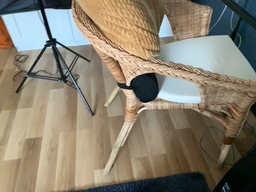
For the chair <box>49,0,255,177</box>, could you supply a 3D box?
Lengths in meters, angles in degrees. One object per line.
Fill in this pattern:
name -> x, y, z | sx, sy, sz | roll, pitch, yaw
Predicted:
chair -> 0.160, -0.080, 0.980 | 0.690, 0.750, 0.580 | 1, 45, 1
